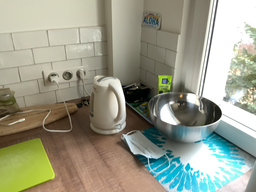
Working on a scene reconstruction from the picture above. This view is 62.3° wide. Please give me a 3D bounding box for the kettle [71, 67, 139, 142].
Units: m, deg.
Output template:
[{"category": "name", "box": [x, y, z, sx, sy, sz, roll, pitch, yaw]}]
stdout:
[{"category": "kettle", "box": [-0.100, 0.020, 0.910, 0.200, 0.210, 0.220, -15, 30, -29]}]
